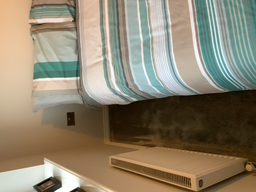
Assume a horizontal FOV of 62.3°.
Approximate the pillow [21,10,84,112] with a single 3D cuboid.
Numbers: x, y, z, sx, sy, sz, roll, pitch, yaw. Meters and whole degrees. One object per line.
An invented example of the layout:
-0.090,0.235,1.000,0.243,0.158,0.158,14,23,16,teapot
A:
-0.700,-0.280,2.010,0.260,0.480,0.830,-9,82,24,pillow
